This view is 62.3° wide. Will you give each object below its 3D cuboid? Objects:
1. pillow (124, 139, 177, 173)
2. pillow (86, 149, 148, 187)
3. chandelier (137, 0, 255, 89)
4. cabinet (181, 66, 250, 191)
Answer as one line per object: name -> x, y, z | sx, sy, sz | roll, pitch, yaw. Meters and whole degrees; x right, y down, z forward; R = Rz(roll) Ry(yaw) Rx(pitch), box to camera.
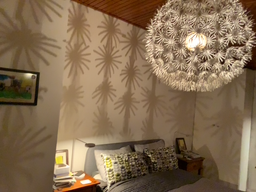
pillow -> 0.370, 0.920, 3.380 | 0.680, 0.330, 0.480 | 5, 0, -41
pillow -> -0.140, 0.930, 2.840 | 0.680, 0.260, 0.460 | 5, 0, -41
chandelier -> 0.570, -0.620, 1.910 | 0.780, 1.020, 0.820 | 5, 0, -6
cabinet -> 1.760, 0.630, 4.340 | 0.480, 2.380, 1.020 | 5, 0, -41
